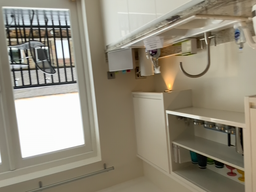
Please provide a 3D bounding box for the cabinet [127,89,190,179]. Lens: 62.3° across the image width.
[{"bbox_3d":[0.300,0.340,2.280,0.320,0.790,0.650,-8,-174,-25],"label":"cabinet"}]
